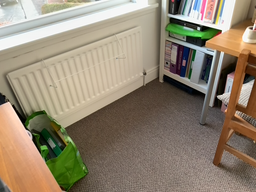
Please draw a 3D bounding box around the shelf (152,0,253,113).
[{"bbox_3d":[0.550,-0.810,1.620,0.340,1.880,0.670,-30,44,-30],"label":"shelf"}]

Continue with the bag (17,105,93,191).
[{"bbox_3d":[-0.510,0.360,1.470,0.260,0.320,0.510,-27,43,-27],"label":"bag"}]
